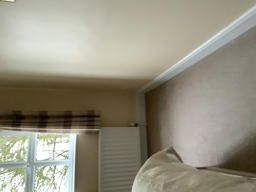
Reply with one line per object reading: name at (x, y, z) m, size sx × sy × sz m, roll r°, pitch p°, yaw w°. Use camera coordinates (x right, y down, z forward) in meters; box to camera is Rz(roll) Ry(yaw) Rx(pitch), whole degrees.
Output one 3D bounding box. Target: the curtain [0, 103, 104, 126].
curtain at (-1.020, 0.220, 2.440) m, size 0.180 × 1.460 × 0.230 m, roll 139°, pitch 131°, yaw -68°
